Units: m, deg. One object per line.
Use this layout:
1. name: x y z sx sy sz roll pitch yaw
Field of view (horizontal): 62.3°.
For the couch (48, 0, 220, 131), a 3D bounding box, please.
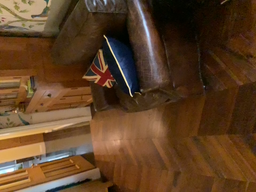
1. couch: -0.050 -0.260 1.730 0.990 0.860 0.870 -23 75 57
